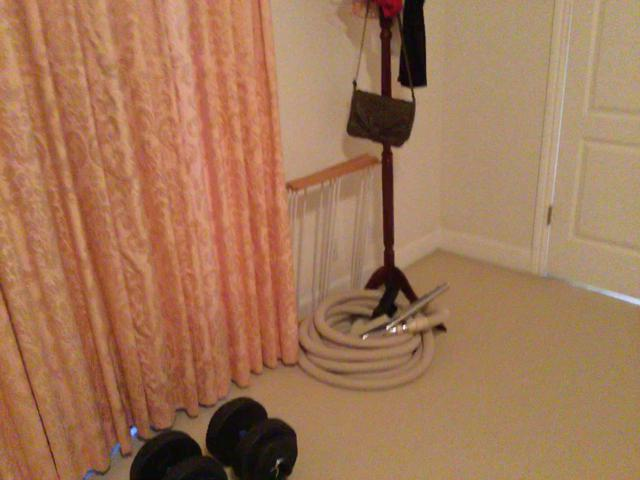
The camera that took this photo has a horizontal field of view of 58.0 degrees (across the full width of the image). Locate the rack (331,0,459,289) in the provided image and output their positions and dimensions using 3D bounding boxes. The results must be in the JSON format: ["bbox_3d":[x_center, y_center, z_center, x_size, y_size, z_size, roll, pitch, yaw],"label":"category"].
[{"bbox_3d":[0.290,-0.600,2.210,0.300,1.540,0.300,8,24,39],"label":"rack"}]

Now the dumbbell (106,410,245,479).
[{"bbox_3d":[-0.400,0.680,1.640,0.310,0.220,0.220,8,24,39],"label":"dumbbell"}]

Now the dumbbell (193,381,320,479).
[{"bbox_3d":[-0.190,0.620,1.760,0.270,0.230,0.230,8,24,39],"label":"dumbbell"}]
